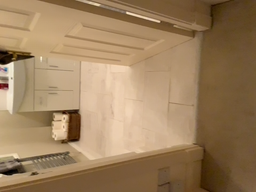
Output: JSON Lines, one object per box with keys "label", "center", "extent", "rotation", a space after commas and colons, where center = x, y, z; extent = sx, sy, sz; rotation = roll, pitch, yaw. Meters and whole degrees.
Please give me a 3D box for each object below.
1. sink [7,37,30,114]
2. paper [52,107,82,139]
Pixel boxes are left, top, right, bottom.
{"label": "sink", "center": [-1.380, -0.250, 2.650], "extent": [0.500, 0.190, 0.870], "rotation": [9, 98, 54]}
{"label": "paper", "center": [-0.880, 0.370, 3.040], "extent": [0.260, 0.350, 0.400], "rotation": [3, 93, 54]}
